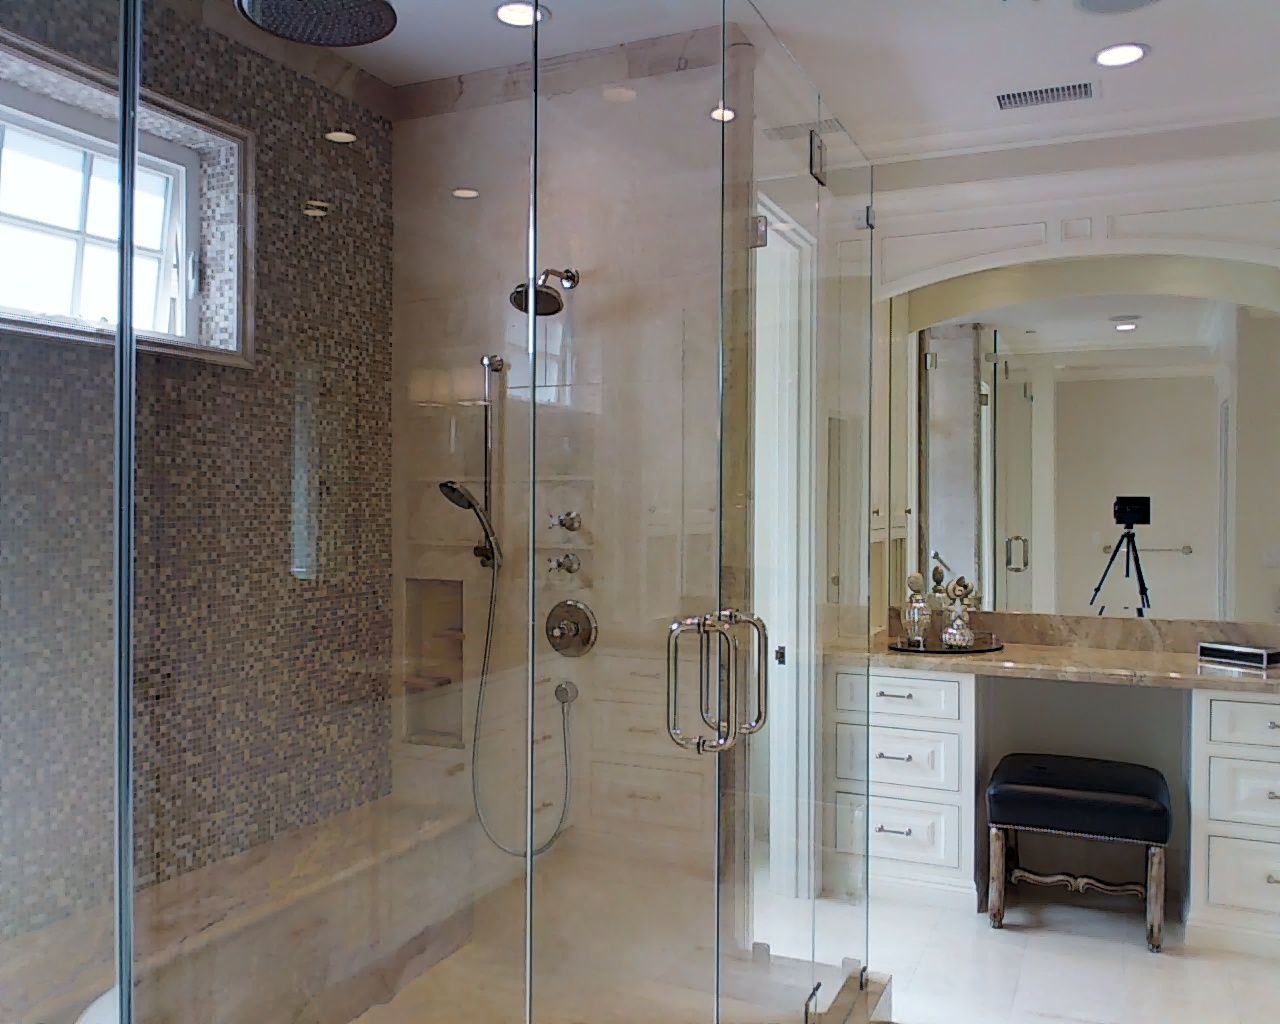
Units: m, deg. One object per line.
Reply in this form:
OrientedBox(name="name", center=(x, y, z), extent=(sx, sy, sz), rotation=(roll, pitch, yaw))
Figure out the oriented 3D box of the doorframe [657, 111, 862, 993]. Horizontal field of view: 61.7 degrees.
OrientedBox(name="doorframe", center=(0.460, 0.120, 3.780), extent=(0.380, 2.651, 1.060), rotation=(0, 1, 26))
